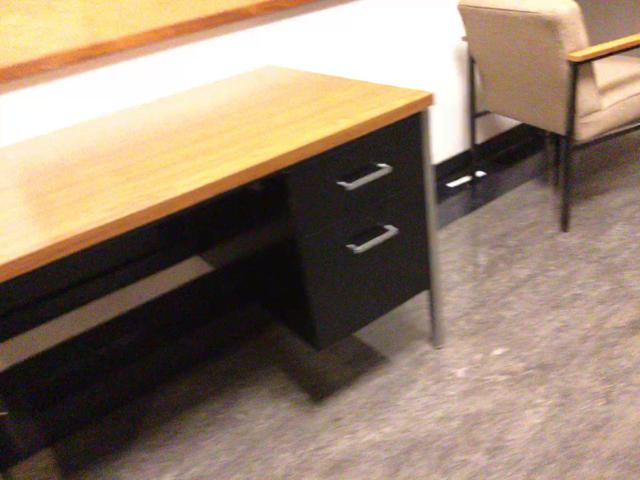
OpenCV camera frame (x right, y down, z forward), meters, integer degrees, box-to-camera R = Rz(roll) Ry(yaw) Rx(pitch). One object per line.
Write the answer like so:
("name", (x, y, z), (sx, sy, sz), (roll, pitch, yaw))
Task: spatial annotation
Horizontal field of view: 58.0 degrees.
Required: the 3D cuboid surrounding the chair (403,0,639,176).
("chair", (0.860, -0.680, 2.130), (0.740, 0.500, 0.760), (-24, 31, -24))
